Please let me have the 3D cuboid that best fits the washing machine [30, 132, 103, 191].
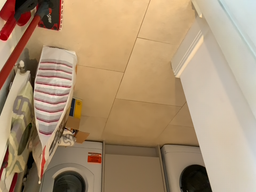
[{"bbox_3d":[-0.610,0.920,2.110,0.580,0.840,0.690,8,140,-15],"label":"washing machine"}]
